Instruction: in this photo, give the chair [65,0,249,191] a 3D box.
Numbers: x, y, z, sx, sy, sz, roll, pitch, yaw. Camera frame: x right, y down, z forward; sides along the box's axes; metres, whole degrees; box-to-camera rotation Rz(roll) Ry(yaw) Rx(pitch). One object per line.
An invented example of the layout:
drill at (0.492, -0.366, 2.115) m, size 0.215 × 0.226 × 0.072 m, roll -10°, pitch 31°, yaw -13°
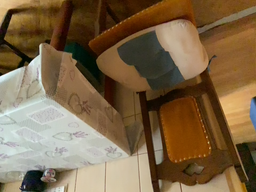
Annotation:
chair at (0.140, -0.120, 1.020) m, size 0.470 × 0.970 × 0.570 m, roll -17°, pitch 141°, yaw 19°
